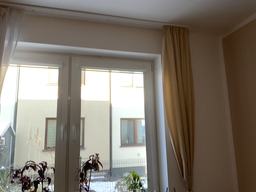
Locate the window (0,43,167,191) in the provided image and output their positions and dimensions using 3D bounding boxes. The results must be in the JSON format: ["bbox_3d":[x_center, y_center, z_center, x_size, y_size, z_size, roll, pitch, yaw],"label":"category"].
[{"bbox_3d":[-0.520,0.300,1.990,1.620,1.350,0.500,2,-11,-16],"label":"window"}]
